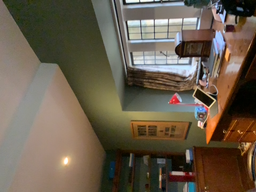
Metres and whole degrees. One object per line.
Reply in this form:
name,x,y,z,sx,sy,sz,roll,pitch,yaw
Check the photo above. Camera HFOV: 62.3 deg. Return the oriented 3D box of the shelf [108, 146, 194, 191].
shelf,0.370,1.580,3.480,0.330,1.330,1.440,79,-167,-52
